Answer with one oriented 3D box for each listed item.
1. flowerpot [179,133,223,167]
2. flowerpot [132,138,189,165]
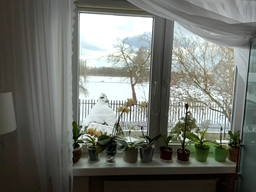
[{"bbox_3d":[0.690,0.510,2.030,0.320,0.250,0.210,2,5,-6],"label":"flowerpot"},{"bbox_3d":[0.290,0.510,1.950,0.480,0.190,0.170,2,5,-5],"label":"flowerpot"}]
